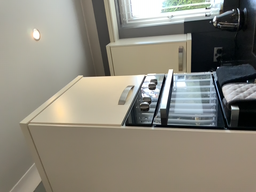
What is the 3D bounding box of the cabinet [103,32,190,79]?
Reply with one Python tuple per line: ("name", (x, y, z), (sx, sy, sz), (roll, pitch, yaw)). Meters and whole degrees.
("cabinet", (0.210, -0.410, 2.180), (0.330, 0.820, 0.360), (-62, -32, -60))
